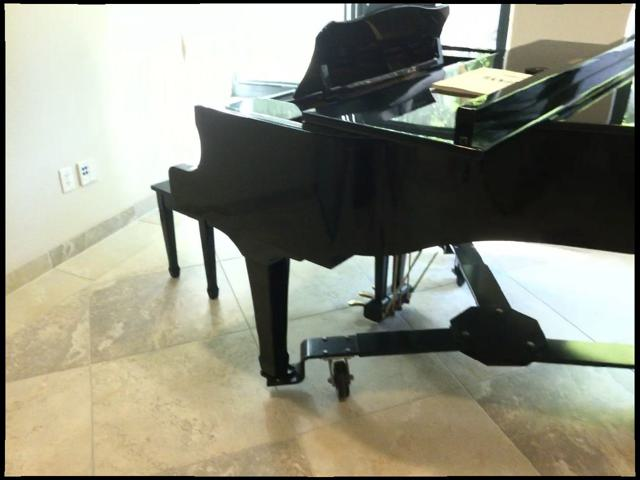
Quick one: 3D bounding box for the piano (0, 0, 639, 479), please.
[{"bbox_3d":[0.070,-0.210,2.130,2.416,1.322,1.620,10,30,22],"label":"piano"}]
